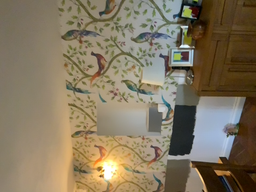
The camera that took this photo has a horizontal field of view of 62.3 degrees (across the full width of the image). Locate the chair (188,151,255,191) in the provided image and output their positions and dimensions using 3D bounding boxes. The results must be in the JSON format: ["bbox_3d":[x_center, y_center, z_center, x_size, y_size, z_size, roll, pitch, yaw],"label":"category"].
[{"bbox_3d":[1.110,0.790,1.720,0.430,1.060,0.500,-96,8,-65],"label":"chair"}]
